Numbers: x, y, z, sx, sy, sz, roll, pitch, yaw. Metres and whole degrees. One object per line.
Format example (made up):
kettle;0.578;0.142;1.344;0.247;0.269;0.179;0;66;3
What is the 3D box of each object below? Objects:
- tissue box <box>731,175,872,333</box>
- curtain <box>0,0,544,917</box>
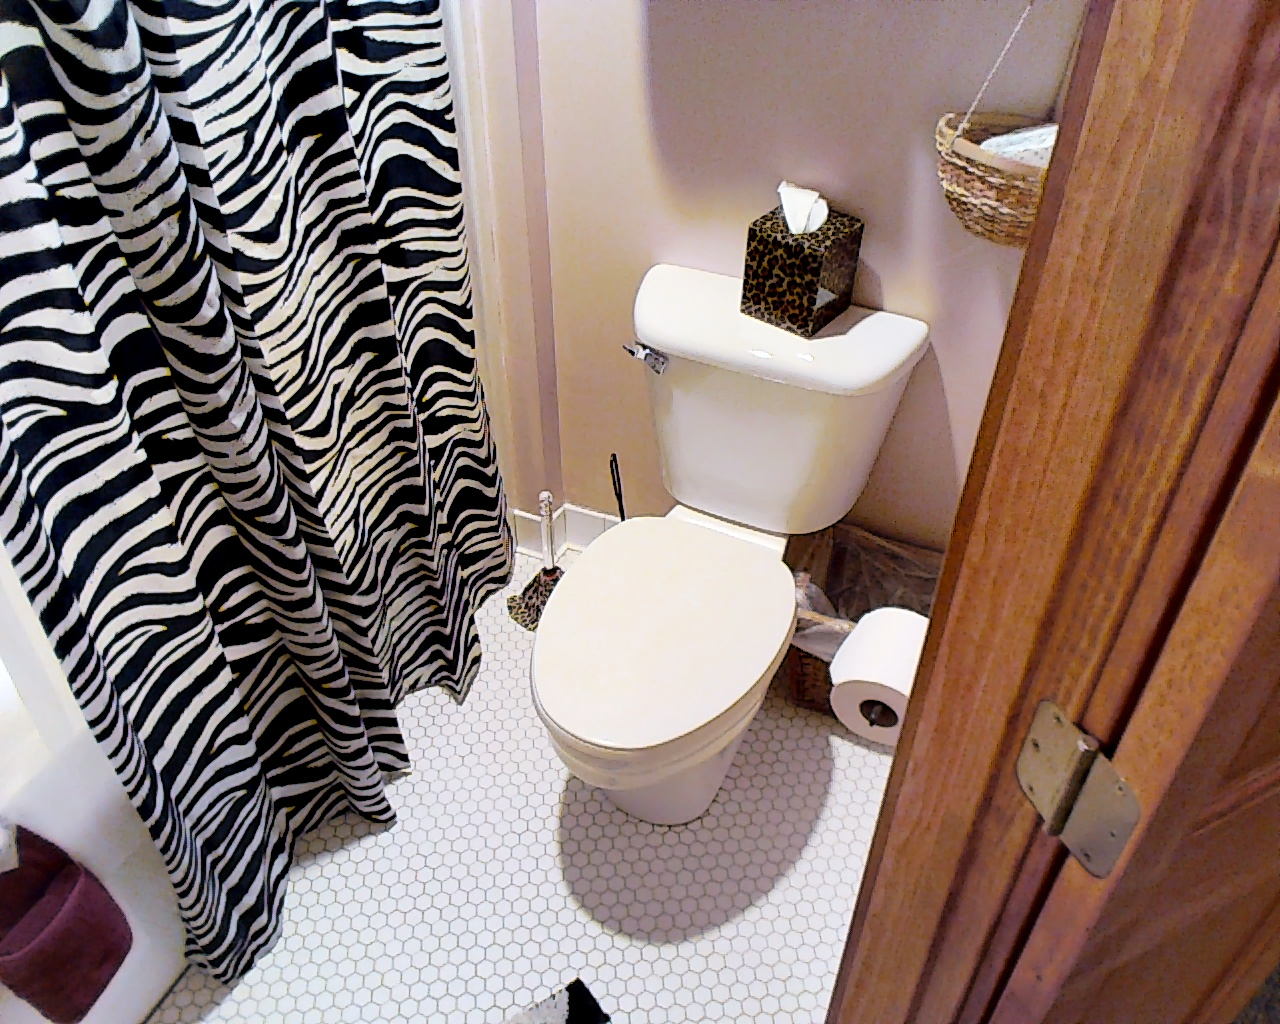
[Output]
tissue box;0.240;-0.390;1.620;0.150;0.160;0.130;30;49;31
curtain;-0.420;-0.280;1.340;0.180;1.860;0.640;16;44;19
